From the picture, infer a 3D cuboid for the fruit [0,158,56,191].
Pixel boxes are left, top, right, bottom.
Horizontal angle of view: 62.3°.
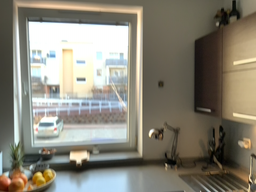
[{"bbox_3d":[-0.770,0.620,1.680,0.320,0.120,0.370,0,2,-10],"label":"fruit"}]
